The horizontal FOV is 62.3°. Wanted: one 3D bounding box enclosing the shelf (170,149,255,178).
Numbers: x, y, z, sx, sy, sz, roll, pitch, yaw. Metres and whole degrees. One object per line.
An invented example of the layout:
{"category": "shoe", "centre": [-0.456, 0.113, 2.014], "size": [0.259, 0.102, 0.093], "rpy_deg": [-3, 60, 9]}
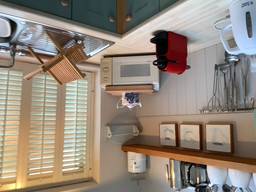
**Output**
{"category": "shelf", "centre": [0.530, 0.390, 1.280], "size": [0.160, 0.070, 0.590], "rpy_deg": [5, 171, -36]}
